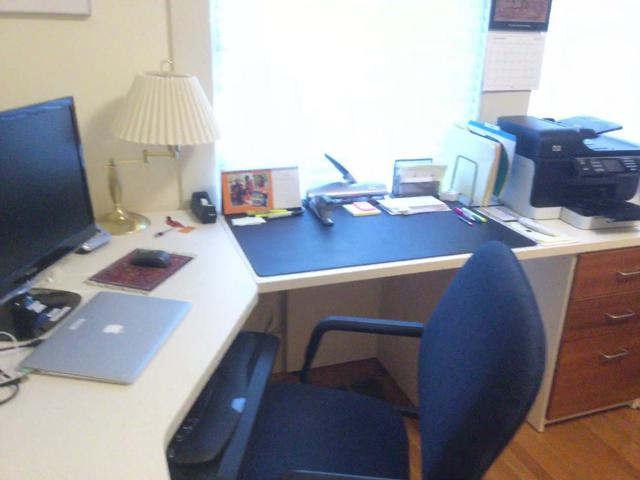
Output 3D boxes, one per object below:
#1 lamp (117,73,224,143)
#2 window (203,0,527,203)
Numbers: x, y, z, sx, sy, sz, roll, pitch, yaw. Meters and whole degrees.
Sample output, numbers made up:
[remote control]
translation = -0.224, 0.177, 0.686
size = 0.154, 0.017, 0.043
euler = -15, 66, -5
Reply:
[lamp]
translation = -0.440, -0.390, 1.680
size = 0.270, 0.170, 0.290
euler = -4, 18, -18
[window]
translation = 0.180, -0.890, 1.880
size = 1.100, 1.490, 0.130
euler = -4, 18, -18
